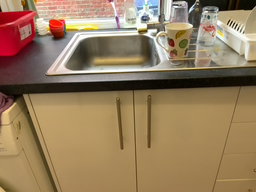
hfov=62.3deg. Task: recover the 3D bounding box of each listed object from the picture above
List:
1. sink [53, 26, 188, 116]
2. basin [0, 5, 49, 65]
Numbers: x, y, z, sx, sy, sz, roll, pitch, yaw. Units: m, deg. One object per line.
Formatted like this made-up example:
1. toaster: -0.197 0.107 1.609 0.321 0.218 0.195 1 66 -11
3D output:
1. sink: -0.030 -0.150 1.000 0.470 0.210 0.490 -2 33 0
2. basin: -0.620 -0.290 0.970 0.360 0.160 0.380 -2 33 1
